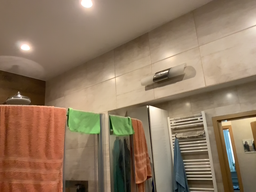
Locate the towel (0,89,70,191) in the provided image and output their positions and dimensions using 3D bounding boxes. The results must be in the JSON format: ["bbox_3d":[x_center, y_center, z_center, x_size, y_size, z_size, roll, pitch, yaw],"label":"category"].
[{"bbox_3d":[-0.690,0.410,1.220,0.670,0.850,0.300,1,-16,-17],"label":"towel"}]
